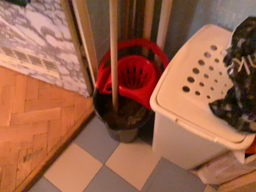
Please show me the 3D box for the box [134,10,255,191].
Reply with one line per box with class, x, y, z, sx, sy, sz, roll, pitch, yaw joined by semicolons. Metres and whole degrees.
box;0.290;0.060;0.830;0.340;0.510;0.430;30;64;16
